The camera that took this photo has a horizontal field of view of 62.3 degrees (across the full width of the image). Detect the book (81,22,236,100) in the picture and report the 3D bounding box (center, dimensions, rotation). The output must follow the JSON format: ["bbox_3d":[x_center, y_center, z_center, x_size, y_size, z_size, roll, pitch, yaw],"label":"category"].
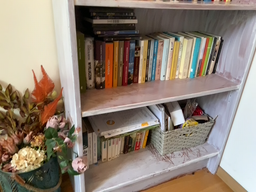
[{"bbox_3d":[0.150,-0.200,1.060,0.710,0.290,0.210,-7,29,-20],"label":"book"}]
